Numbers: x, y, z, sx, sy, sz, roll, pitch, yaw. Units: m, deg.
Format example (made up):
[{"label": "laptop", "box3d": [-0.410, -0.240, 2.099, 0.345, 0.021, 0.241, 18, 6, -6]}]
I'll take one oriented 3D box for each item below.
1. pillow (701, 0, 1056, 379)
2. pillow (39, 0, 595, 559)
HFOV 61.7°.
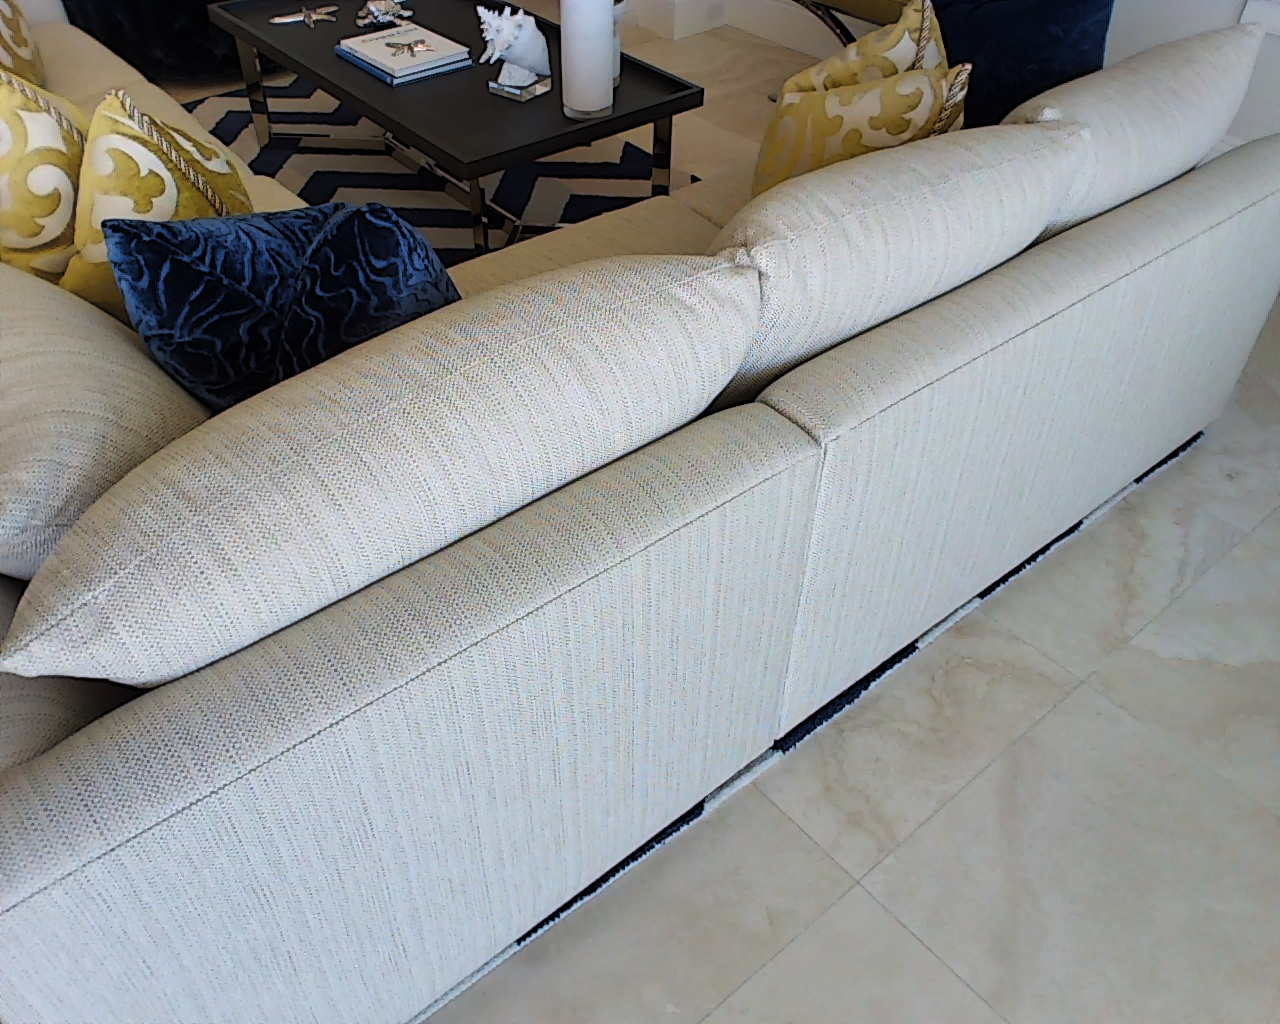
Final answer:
[{"label": "pillow", "box3d": [0.430, -0.660, 2.030, 0.380, 0.560, 0.640, 20, 26, 3]}, {"label": "pillow", "box3d": [-0.420, -0.300, 1.530, 0.490, 0.560, 0.280, 30, -5, -1]}]
